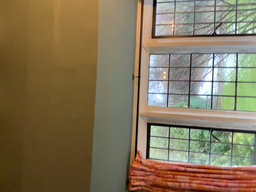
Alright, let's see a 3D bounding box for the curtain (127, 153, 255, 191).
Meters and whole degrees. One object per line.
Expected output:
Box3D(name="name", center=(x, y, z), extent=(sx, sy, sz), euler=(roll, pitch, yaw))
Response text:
Box3D(name="curtain", center=(0.600, 0.720, 1.790), extent=(0.150, 1.200, 0.330), euler=(29, -115, -75))
